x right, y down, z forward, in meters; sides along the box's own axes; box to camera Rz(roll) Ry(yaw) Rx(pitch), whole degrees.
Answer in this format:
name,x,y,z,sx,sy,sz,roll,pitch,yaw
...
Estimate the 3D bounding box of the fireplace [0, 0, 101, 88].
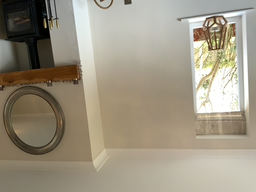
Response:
name,x,y,z,sx,sy,sz,roll,pitch,yaw
fireplace,-1.230,-0.750,2.590,1.470,1.200,0.790,-3,-172,16
